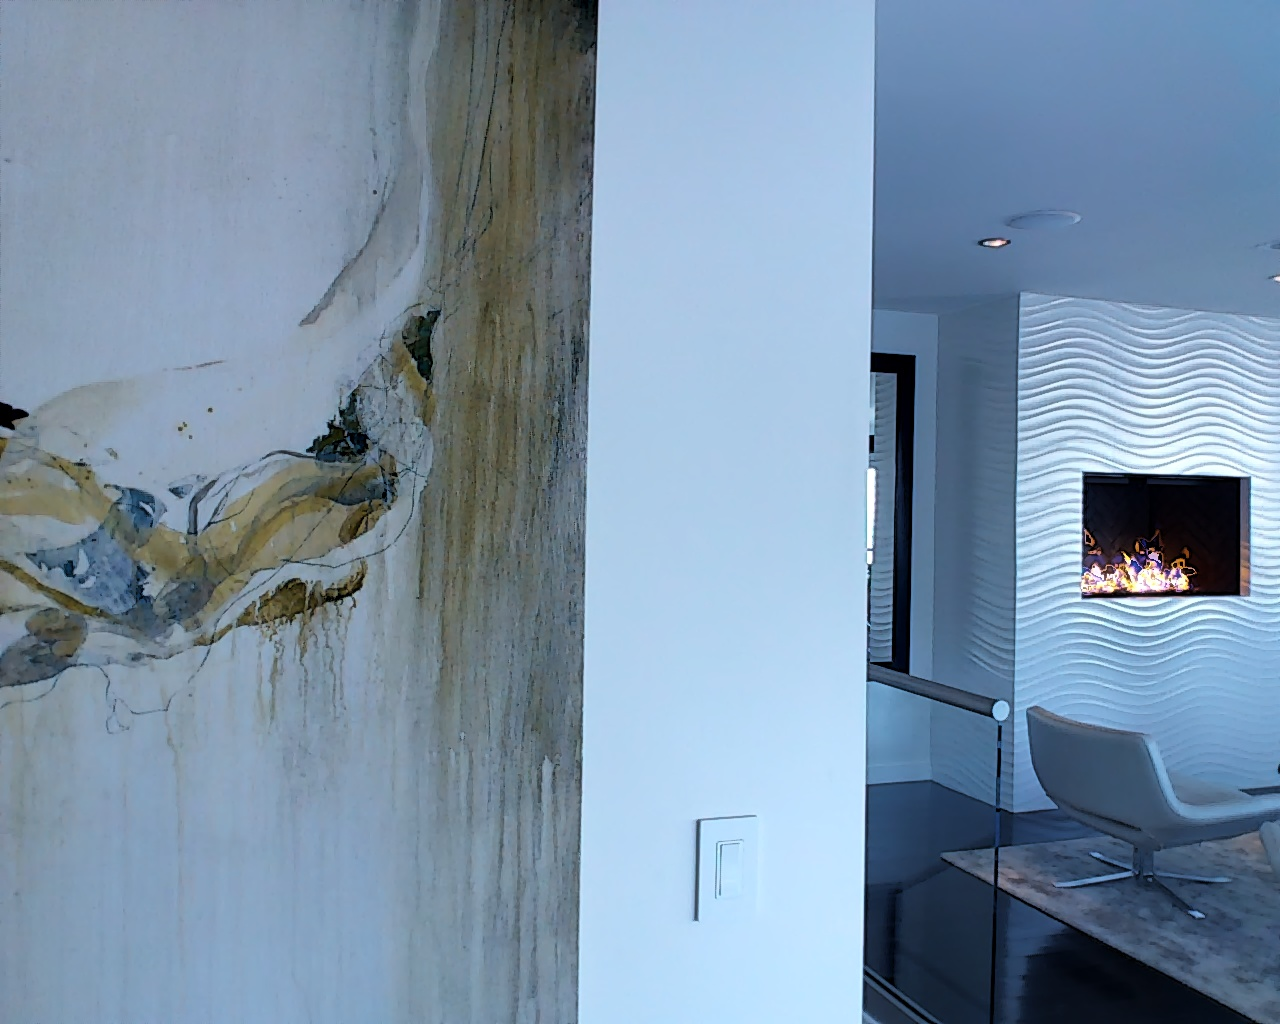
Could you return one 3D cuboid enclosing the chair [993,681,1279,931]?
[{"bbox_3d":[2.090,1.160,4.450,0.870,0.750,0.990,1,0,-4],"label":"chair"}]
